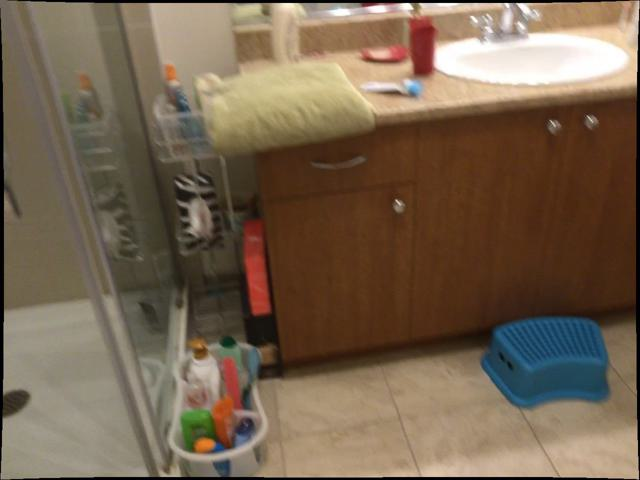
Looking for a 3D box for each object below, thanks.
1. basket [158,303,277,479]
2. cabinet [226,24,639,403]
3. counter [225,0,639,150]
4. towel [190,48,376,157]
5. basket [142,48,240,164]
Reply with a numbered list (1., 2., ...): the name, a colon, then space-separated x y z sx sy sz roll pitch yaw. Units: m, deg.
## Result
1. basket: -0.280 0.400 1.530 0.250 0.220 0.410 -9 34 -10
2. cabinet: 0.500 -0.140 1.810 1.429 0.770 0.640 -9 34 -10
3. counter: 0.560 -0.611 1.630 1.569 0.230 0.740 -9 34 -10
4. towel: -0.100 -0.340 1.370 0.380 0.110 0.330 -9 34 -10
5. basket: -0.360 -0.380 1.620 0.220 0.240 0.200 -9 34 -10
